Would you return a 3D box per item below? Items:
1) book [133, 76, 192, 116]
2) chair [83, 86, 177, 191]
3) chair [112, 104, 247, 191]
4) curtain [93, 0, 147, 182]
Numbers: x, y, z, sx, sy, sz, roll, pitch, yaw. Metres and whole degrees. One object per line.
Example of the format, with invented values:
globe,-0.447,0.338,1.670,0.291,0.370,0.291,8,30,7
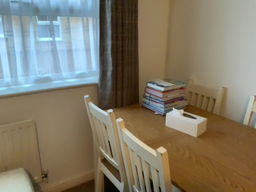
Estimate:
book,0.270,-0.020,1.730,0.310,0.200,0.350,-10,20,-31
chair,0.000,0.430,1.540,0.480,0.880,0.420,-10,20,-30
chair,0.230,0.560,1.160,0.480,0.880,0.420,-10,20,-29
curtain,-0.060,-0.340,1.720,0.370,2.210,0.180,-10,20,-31
